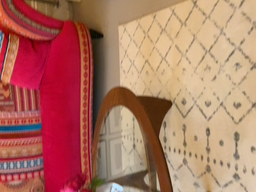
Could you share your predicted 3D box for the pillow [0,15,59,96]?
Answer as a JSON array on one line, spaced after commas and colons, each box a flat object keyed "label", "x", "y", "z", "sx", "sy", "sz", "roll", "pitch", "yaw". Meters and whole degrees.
[{"label": "pillow", "x": -0.910, "y": -0.290, "z": 1.720, "sx": 0.490, "sy": 0.470, "sz": 0.160, "roll": -38, "pitch": 43, "yaw": 24}]
